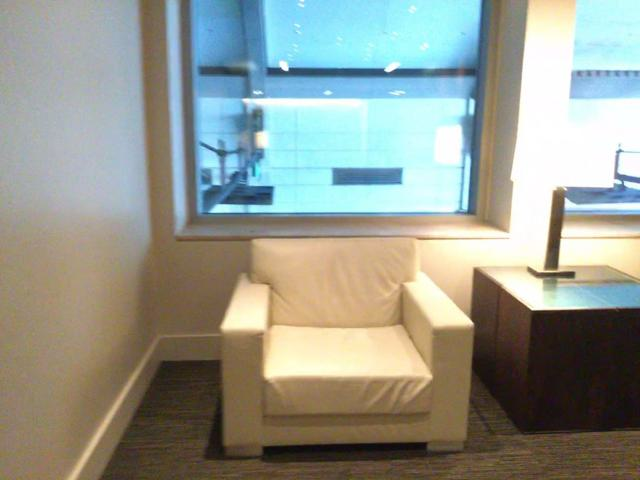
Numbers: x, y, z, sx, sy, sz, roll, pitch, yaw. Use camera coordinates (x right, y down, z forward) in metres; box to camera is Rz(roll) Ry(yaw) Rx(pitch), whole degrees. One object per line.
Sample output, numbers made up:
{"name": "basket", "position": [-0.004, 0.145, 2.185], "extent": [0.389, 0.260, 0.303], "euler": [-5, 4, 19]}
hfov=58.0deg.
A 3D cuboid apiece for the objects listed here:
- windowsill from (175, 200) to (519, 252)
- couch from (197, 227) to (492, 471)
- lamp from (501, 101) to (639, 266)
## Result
{"name": "windowsill", "position": [0.140, -0.090, 3.290], "extent": [1.800, 0.150, 0.520], "euler": [-2, 11, -1]}
{"name": "couch", "position": [0.090, 0.420, 2.680], "extent": [1.090, 0.770, 0.960], "euler": [-2, 11, -1]}
{"name": "lamp", "position": [1.200, -0.290, 2.800], "extent": [0.460, 0.720, 0.480], "euler": [-2, 11, -1]}
